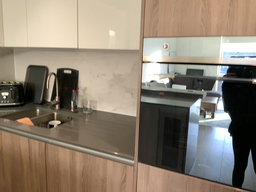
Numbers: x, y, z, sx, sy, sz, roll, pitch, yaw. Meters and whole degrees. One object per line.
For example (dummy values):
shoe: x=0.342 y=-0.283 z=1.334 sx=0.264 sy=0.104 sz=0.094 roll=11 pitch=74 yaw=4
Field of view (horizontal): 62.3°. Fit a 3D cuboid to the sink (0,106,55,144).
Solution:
sink: x=-0.850 y=0.220 z=1.760 sx=0.260 sy=0.170 sz=0.400 roll=7 pitch=11 yaw=23
